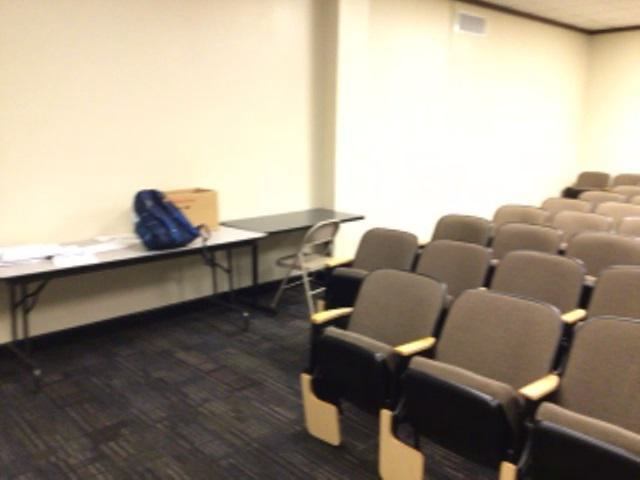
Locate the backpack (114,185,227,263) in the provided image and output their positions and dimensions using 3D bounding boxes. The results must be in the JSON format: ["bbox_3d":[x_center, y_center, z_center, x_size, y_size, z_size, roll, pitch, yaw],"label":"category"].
[{"bbox_3d":[-0.930,-0.120,3.610,0.440,0.370,0.500,10,17,43],"label":"backpack"}]

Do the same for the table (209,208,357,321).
[{"bbox_3d":[-0.270,0.150,4.750,0.540,0.640,1.110,10,17,43],"label":"table"}]
